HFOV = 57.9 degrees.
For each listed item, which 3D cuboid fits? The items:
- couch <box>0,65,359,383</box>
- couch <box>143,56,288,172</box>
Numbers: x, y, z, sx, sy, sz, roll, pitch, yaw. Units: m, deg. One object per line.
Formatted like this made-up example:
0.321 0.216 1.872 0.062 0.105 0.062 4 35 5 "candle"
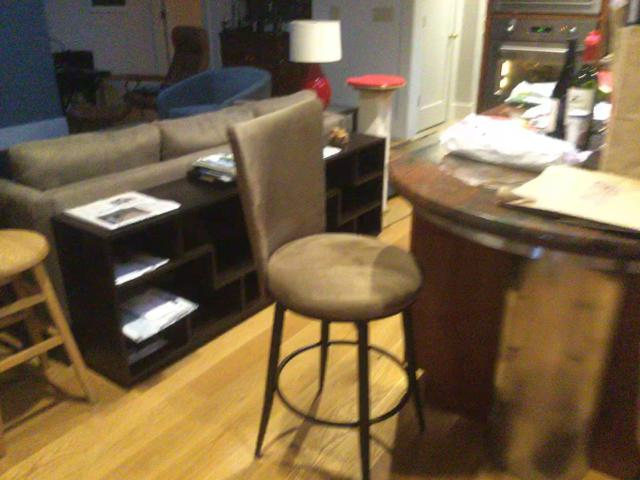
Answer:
-0.690 -0.290 2.780 0.830 0.810 1.930 15 29 34 "couch"
-0.770 -1.000 4.420 0.720 0.690 0.730 14 28 33 "couch"
